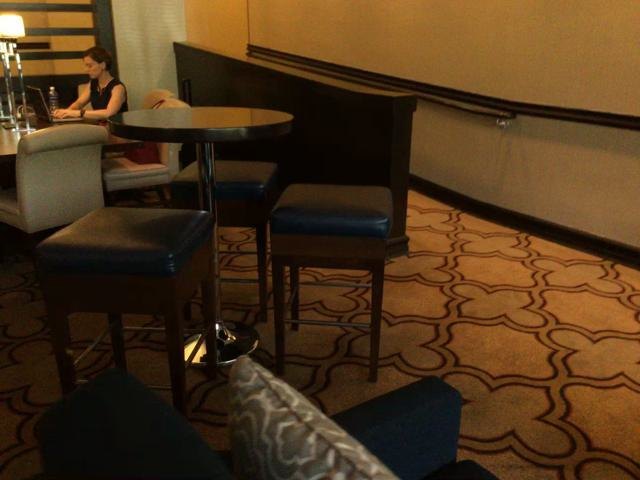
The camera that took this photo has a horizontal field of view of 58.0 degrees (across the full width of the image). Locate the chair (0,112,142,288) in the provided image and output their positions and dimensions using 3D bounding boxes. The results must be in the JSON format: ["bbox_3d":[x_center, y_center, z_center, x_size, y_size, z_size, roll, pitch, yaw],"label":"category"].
[{"bbox_3d":[-1.430,-0.260,3.210,0.600,0.790,0.540,-16,24,-38],"label":"chair"}]

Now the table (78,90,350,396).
[{"bbox_3d":[-0.480,-0.090,2.640,0.890,1.060,0.860,-12,22,-29],"label":"table"}]
